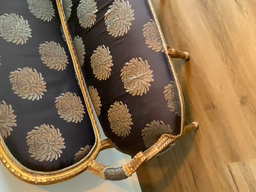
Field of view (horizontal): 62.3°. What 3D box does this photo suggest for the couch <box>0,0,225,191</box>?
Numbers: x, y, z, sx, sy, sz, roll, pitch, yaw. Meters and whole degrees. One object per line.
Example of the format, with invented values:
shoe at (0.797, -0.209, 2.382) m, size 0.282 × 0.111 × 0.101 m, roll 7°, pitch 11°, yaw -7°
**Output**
couch at (-0.280, -0.320, 1.270) m, size 0.850 × 1.010 × 1.570 m, roll -25°, pitch 77°, yaw 39°
